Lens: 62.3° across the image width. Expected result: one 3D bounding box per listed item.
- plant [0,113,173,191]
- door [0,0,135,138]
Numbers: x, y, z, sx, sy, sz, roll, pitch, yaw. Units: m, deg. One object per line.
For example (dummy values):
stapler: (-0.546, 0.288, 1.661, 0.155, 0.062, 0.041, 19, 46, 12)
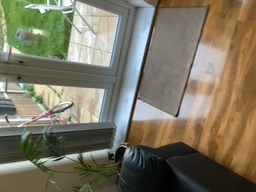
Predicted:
plant: (-0.320, 0.600, 1.670, 0.640, 1.120, 0.760, 20, 104, 49)
door: (-0.910, -0.290, 1.610, 0.100, 2.070, 1.310, 29, 110, 47)
